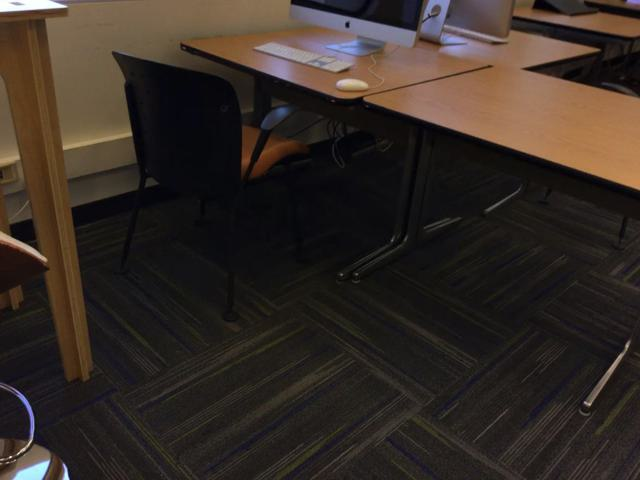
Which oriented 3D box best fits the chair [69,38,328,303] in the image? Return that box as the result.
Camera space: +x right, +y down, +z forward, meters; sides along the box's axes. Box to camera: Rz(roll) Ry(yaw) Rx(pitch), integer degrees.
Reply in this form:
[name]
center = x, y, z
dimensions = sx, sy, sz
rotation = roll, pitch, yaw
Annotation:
[chair]
center = -0.370, -0.280, 2.000
dimensions = 0.560, 0.720, 0.520
rotation = 11, 31, 29
